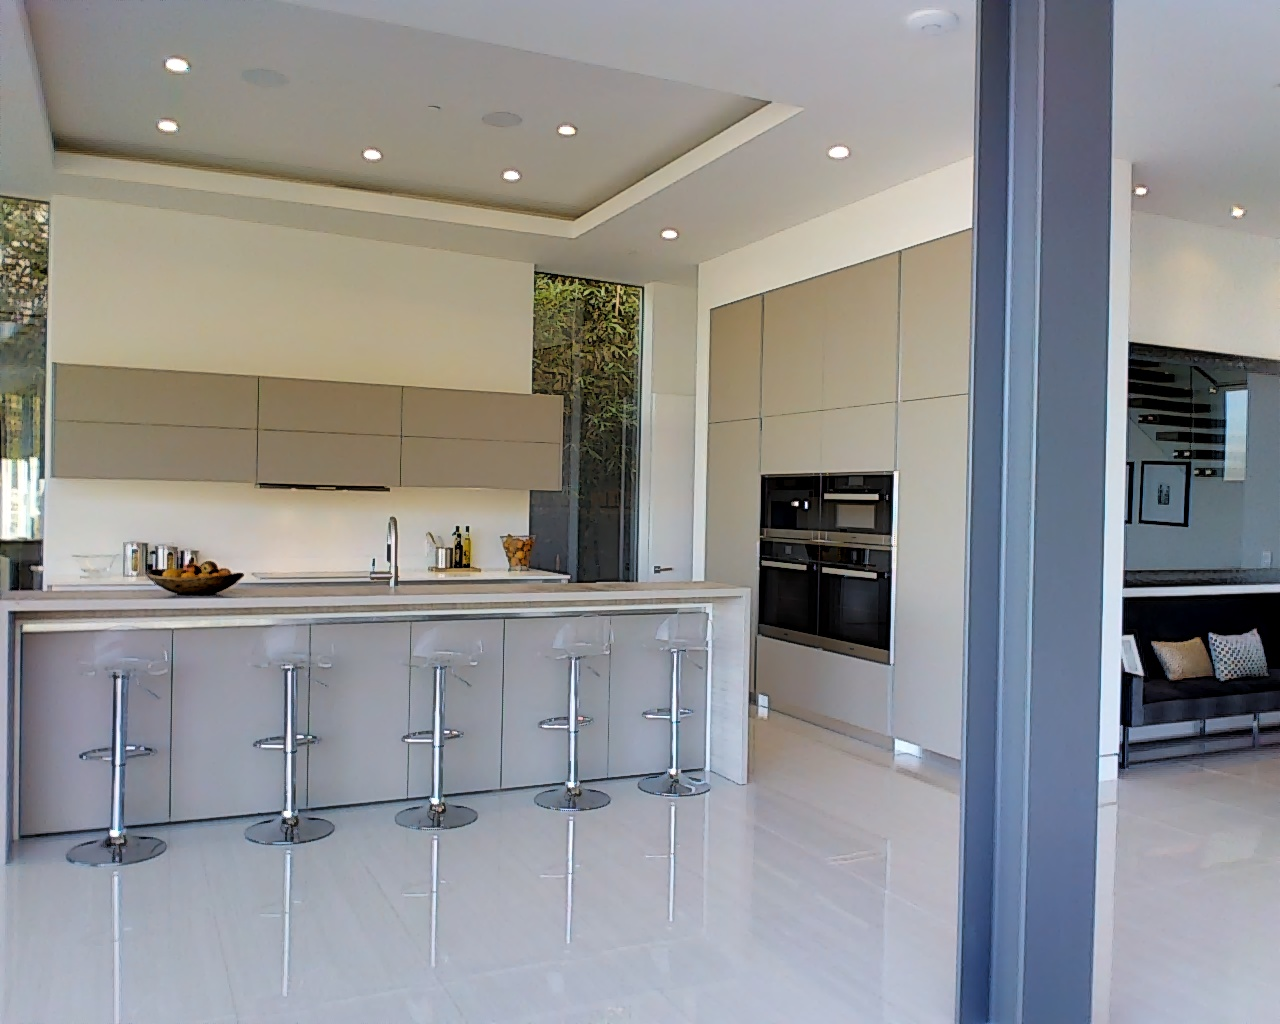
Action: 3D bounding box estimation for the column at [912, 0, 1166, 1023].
[{"bbox_3d":[1.120,-0.110,3.050,0.440,3.200,0.430,1,0,-26],"label":"column"}]

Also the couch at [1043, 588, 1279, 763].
[{"bbox_3d":[3.709,0.970,6.840,2.360,0.890,0.700,1,0,-26],"label":"couch"}]
